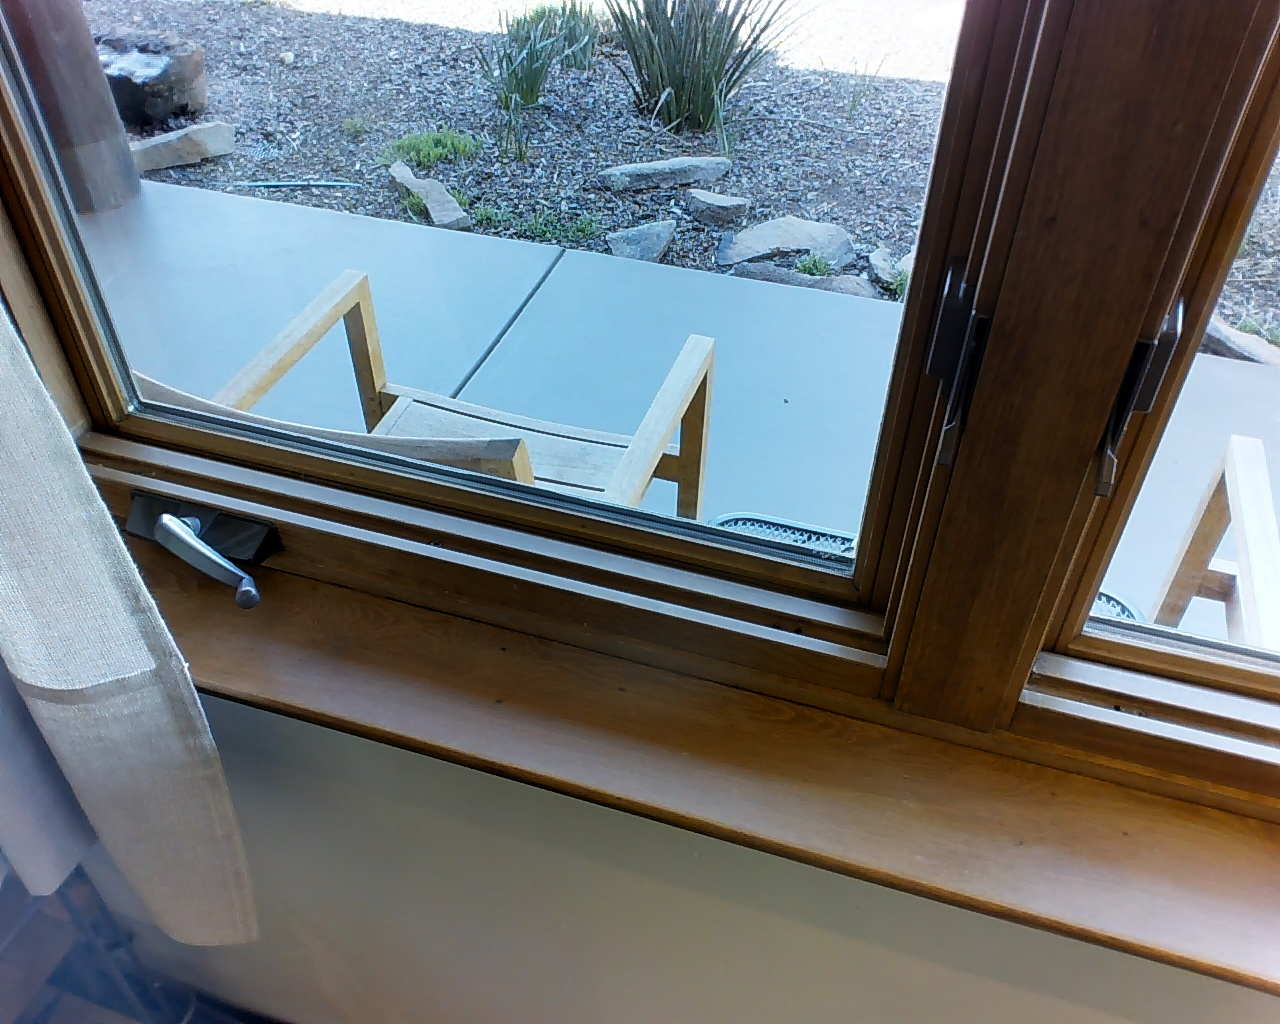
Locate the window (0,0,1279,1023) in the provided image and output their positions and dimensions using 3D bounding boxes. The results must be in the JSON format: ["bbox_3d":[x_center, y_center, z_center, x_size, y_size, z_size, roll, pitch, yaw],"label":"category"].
[{"bbox_3d":[0.220,-0.370,0.360,1.690,1.570,0.430,11,43,12],"label":"window"}]
